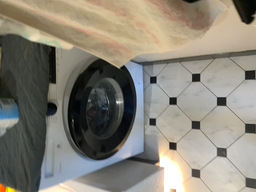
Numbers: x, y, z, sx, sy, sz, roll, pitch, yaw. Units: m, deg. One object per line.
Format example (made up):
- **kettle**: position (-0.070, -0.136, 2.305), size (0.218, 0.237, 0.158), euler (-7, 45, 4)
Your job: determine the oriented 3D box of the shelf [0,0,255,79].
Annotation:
- **shelf**: position (-0.120, -0.210, 0.340), size (0.550, 1.300, 0.200), euler (1, 88, 32)
